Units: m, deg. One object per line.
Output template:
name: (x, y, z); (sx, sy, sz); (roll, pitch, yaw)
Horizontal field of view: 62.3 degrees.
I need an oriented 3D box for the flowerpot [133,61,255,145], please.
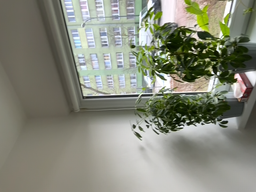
flowerpot: (0.390, 0.010, 1.550); (0.680, 0.680, 0.280); (-90, -2, -61)
